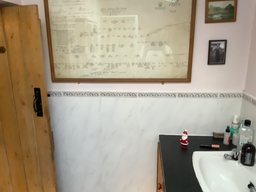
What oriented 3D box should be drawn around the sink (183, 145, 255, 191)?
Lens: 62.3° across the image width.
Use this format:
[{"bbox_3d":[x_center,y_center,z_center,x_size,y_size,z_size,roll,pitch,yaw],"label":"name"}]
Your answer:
[{"bbox_3d":[0.570,0.520,1.200,0.400,0.190,0.620,0,15,5],"label":"sink"}]
